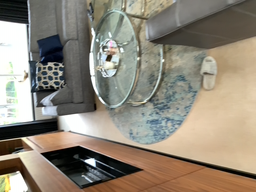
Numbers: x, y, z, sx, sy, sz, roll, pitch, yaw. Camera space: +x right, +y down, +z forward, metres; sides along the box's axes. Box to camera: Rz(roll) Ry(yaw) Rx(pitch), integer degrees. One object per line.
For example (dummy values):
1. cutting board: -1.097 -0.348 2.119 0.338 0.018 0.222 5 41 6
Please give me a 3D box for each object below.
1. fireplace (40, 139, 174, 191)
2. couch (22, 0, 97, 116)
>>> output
1. fireplace: -0.360 0.860 2.090 1.650 0.620 0.550 -4 90 57
2. couch: -1.290 -1.330 3.680 1.170 0.790 3.270 -8 87 57
